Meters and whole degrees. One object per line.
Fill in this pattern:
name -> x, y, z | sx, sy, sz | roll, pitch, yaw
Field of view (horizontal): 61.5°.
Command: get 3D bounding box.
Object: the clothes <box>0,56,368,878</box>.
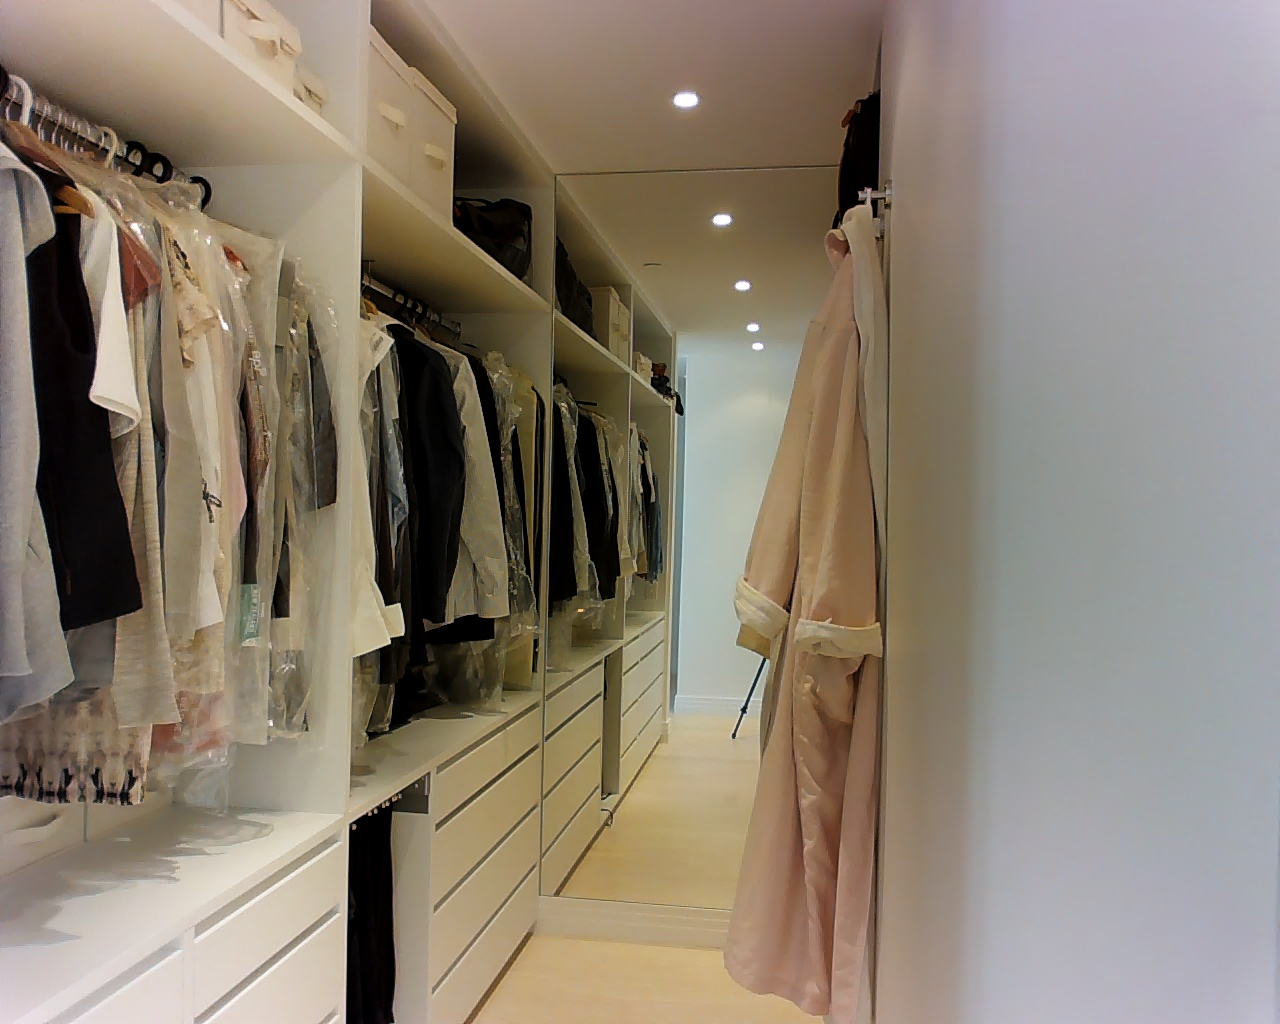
clothes -> -0.890, -0.050, 1.400 | 0.490, 0.880, 1.400 | 1, 1, 10

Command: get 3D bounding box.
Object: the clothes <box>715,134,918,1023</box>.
clothes -> 0.320, 0.160, 1.950 | 0.290, 1.500, 0.510 | 1, 1, 10
